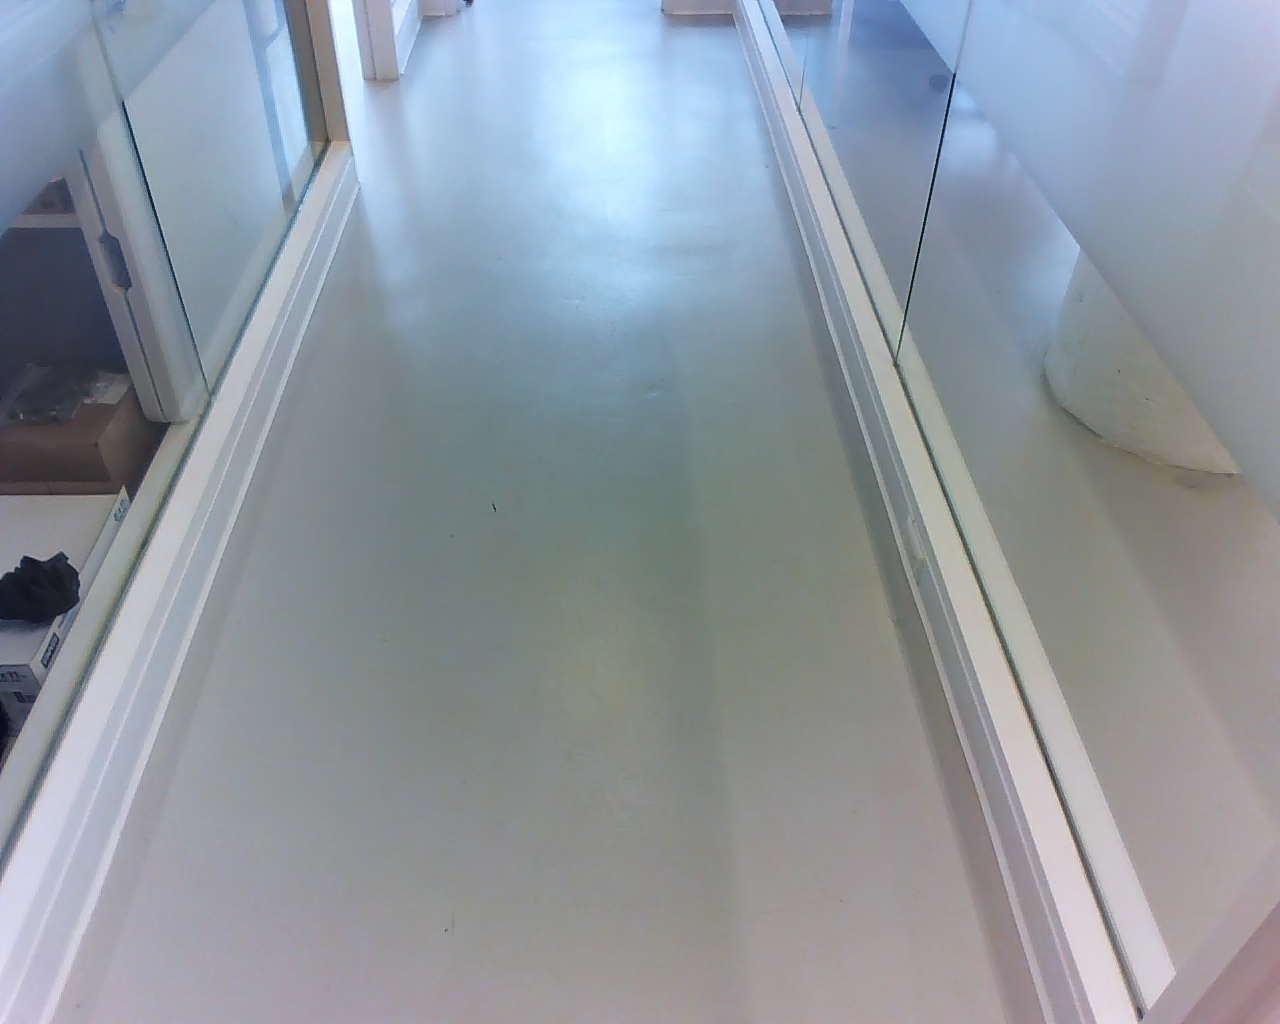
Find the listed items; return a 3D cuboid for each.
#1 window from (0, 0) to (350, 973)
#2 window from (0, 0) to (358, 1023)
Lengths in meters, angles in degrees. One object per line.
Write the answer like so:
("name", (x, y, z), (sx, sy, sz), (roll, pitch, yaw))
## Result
("window", (-0.910, -0.990, 1.600), (0.130, 2.060, 2.710), (-1, 41, -2))
("window", (-1.000, -1.020, 1.570), (0.310, 2.380, 2.790), (-1, 41, -2))
